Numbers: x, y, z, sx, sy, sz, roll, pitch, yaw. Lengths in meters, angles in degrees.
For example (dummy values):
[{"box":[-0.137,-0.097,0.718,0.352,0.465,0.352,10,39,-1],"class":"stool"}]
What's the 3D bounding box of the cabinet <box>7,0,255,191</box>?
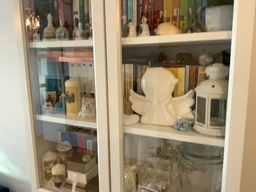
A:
[{"box":[0.000,0.420,0.900,0.830,2.000,0.320,5,12,24],"class":"cabinet"}]
